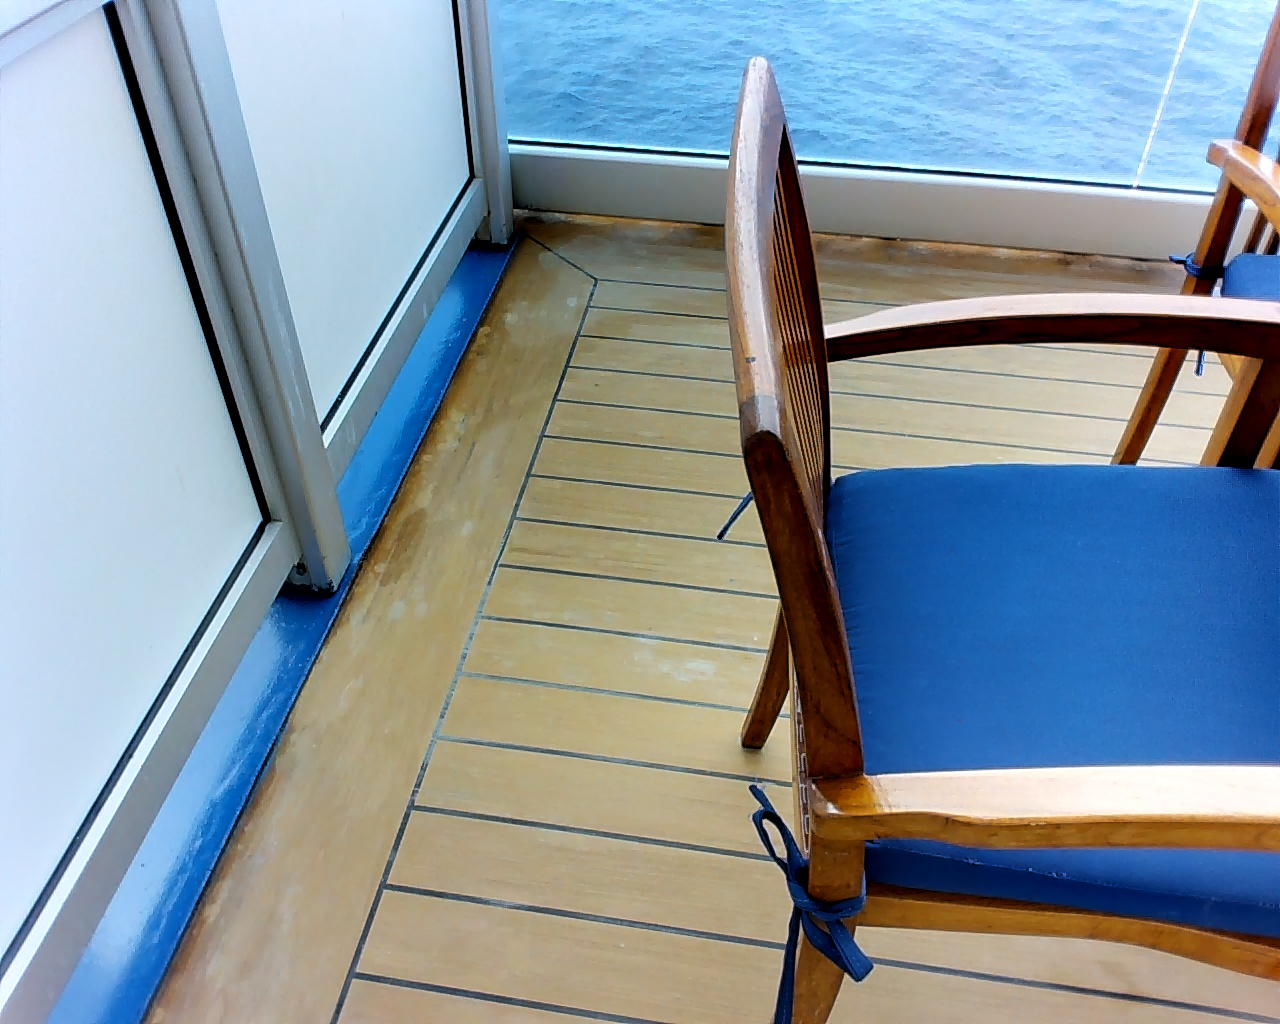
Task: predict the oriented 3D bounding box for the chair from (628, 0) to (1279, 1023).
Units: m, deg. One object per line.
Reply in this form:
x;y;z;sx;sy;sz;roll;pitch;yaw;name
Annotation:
0.440;0.140;0.980;0.790;0.890;0.720;7;44;6;chair
